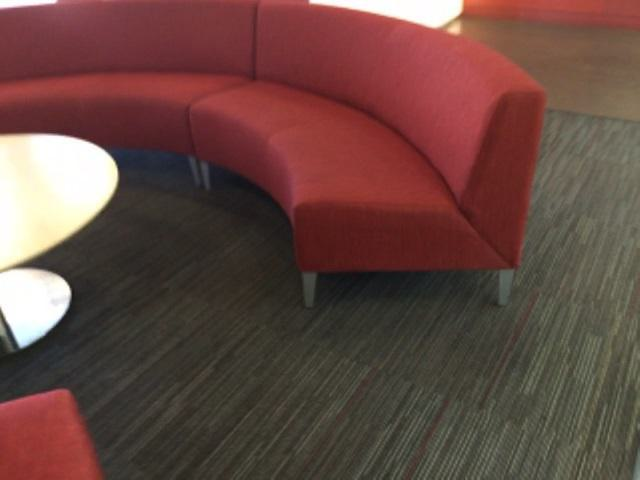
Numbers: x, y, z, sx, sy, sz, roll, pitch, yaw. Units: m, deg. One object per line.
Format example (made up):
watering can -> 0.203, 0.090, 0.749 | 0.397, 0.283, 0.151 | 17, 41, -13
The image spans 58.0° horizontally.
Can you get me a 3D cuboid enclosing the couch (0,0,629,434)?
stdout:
couch -> -0.600, -0.620, 2.580 | 3.240, 0.960, 1.410 | 17, 35, 25
